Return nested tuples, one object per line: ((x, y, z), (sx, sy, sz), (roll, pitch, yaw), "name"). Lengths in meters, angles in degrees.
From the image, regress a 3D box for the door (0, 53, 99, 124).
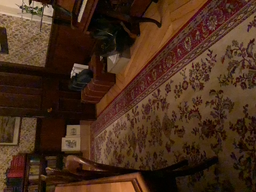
((-1.640, -0.140, 3.630), (0.160, 2.260, 1.180), (127, 142, -49), "door")

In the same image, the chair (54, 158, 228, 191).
((0.080, 0.640, 1.200), (0.410, 0.920, 0.500), (142, 129, -58), "chair")

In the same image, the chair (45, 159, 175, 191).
((-0.140, 0.800, 1.650), (0.430, 0.920, 0.520), (139, 131, -57), "chair")
